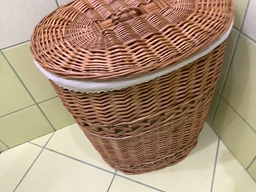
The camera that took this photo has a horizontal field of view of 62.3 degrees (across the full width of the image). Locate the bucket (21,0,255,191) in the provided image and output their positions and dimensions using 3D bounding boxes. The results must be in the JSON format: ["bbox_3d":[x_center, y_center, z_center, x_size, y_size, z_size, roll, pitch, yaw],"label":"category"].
[{"bbox_3d":[0.050,-0.030,0.700,0.480,0.620,0.370,-22,49,-12],"label":"bucket"}]
